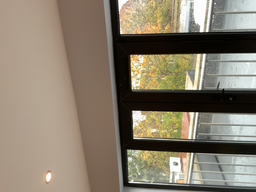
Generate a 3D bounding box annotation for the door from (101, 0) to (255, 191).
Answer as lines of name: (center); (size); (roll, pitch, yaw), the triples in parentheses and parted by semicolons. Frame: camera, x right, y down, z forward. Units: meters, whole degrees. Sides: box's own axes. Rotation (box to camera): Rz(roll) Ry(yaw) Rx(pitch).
door: (0.920, -0.030, 1.930); (0.190, 2.200, 2.850); (-76, -14, -63)
